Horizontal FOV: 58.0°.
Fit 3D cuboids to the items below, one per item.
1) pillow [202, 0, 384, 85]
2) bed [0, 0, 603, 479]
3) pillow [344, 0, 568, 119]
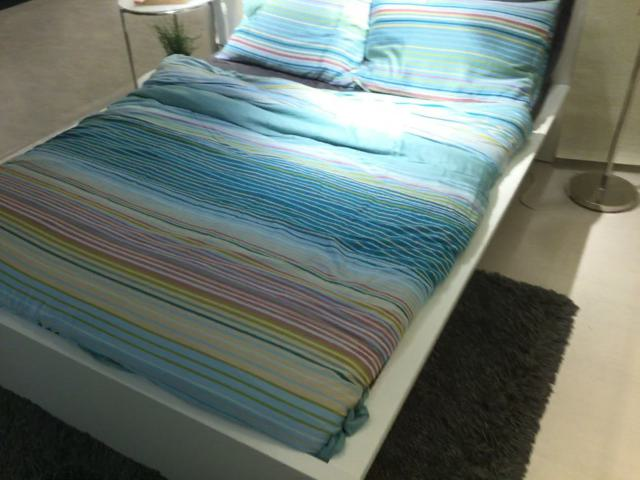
[{"bbox_3d":[-0.120,-0.940,2.450,0.720,0.430,0.160,17,4,27],"label":"pillow"},{"bbox_3d":[-0.170,-0.410,2.000,1.680,0.960,2.210,17,47,27],"label":"bed"},{"bbox_3d":[0.490,-0.740,2.140,0.690,0.430,0.200,17,0,27],"label":"pillow"}]
